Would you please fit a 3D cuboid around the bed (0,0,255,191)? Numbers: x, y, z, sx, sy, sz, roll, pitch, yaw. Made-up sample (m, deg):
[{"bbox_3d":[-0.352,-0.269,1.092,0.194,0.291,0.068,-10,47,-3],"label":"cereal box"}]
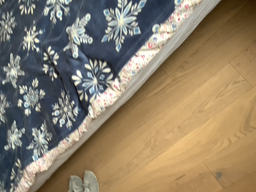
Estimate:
[{"bbox_3d":[-0.490,-0.490,1.150,2.090,0.470,1.570,-43,71,25],"label":"bed"}]
